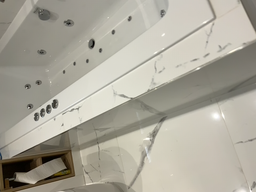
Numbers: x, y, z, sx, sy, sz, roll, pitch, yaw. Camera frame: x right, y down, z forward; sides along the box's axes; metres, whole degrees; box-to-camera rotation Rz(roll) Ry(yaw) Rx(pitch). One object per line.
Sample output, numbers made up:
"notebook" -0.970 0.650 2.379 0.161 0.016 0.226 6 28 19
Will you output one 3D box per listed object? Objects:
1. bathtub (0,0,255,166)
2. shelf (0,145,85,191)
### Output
"bathtub" -0.290 -0.200 1.350 1.830 0.560 0.880 -27 71 37
"shelf" -0.780 0.560 1.550 0.370 0.840 0.210 -26 71 37
